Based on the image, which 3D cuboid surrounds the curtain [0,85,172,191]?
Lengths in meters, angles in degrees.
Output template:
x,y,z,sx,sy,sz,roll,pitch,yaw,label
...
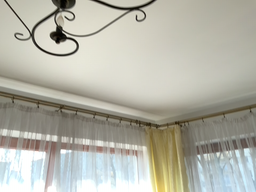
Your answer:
x,y,z,sx,sy,sz,roll,pitch,yaw,label
-0.520,0.880,1.710,2.350,1.730,0.220,16,-31,-34,curtain
